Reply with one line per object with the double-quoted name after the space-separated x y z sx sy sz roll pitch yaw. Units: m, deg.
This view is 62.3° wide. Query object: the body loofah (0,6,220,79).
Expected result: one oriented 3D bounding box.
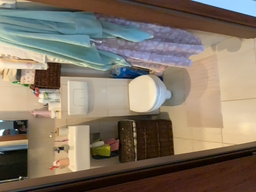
-0.100 -0.260 1.320 0.420 1.410 0.200 -11 81 63 "body loofah"
